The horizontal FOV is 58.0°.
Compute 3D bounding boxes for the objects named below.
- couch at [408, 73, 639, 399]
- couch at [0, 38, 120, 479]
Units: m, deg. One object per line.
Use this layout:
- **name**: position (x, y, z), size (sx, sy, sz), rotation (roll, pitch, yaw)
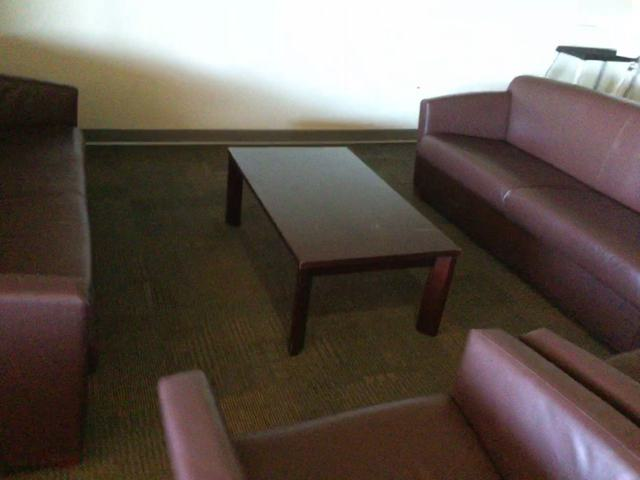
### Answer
- **couch**: position (1.160, -0.170, 2.480), size (0.800, 0.780, 1.470), rotation (-9, 29, -23)
- **couch**: position (-1.160, -0.080, 1.800), size (0.810, 0.820, 1.700), rotation (-7, 28, -21)
